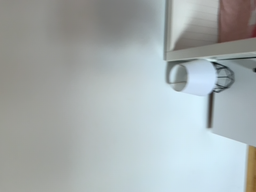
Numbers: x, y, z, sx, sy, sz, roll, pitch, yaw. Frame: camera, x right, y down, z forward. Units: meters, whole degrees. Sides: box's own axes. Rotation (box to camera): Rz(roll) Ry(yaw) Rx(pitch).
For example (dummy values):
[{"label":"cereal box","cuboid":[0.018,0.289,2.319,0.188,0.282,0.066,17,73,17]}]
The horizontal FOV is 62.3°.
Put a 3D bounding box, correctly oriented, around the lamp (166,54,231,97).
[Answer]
[{"label":"lamp","cuboid":[0.380,-0.110,1.160,0.200,0.270,0.200,10,101,62]}]
